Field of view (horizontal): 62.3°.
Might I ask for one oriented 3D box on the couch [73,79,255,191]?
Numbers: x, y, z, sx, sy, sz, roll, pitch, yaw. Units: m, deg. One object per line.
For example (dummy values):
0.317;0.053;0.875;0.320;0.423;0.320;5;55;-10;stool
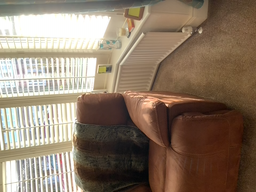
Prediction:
0.160;0.530;1.690;1.020;0.960;1.150;-152;60;-65;couch
